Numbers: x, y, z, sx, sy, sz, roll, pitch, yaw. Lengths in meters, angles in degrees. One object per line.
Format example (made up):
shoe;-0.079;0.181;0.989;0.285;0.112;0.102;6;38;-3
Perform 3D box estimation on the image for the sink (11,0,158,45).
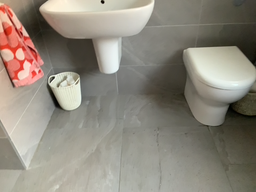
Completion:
sink;-0.200;-0.470;1.200;0.670;0.160;0.470;-2;37;1
